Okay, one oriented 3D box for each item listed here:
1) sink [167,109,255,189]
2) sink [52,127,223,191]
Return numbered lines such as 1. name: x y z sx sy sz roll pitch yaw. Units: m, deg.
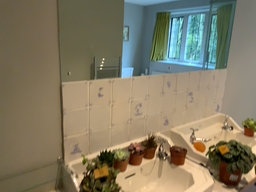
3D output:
1. sink: 0.740 0.340 1.640 0.750 0.260 0.460 -8 18 -36
2. sink: 0.060 0.440 1.140 0.760 0.260 0.480 -8 18 -36
